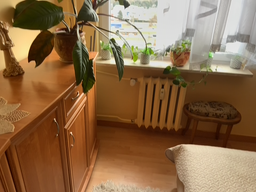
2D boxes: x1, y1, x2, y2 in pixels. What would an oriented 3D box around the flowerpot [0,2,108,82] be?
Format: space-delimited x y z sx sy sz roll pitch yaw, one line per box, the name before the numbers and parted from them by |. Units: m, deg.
flowerpot | -0.410 -0.420 1.430 0.390 0.350 0.790 6 26 5
